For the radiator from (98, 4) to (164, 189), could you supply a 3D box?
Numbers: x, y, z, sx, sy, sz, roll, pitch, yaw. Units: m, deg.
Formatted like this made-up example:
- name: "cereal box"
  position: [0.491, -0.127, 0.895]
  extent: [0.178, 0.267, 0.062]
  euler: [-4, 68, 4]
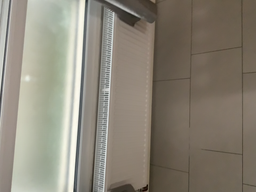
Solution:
- name: "radiator"
  position: [0.050, 0.010, 1.370]
  extent: [0.070, 0.510, 1.010]
  euler: [-1, 84, 40]
